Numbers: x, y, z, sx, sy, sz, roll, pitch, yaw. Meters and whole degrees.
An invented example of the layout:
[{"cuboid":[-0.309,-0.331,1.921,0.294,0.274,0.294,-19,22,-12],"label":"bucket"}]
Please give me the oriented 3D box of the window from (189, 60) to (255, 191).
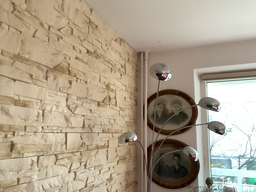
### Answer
[{"cuboid":[1.410,0.450,1.990,1.550,1.630,0.120,-3,-11,23],"label":"window"}]
